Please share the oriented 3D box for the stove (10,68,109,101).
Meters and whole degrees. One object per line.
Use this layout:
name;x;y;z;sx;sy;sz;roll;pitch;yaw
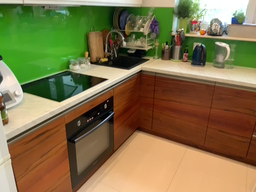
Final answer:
stove;-0.530;-0.120;1.740;0.500;0.010;0.600;14;26;26
